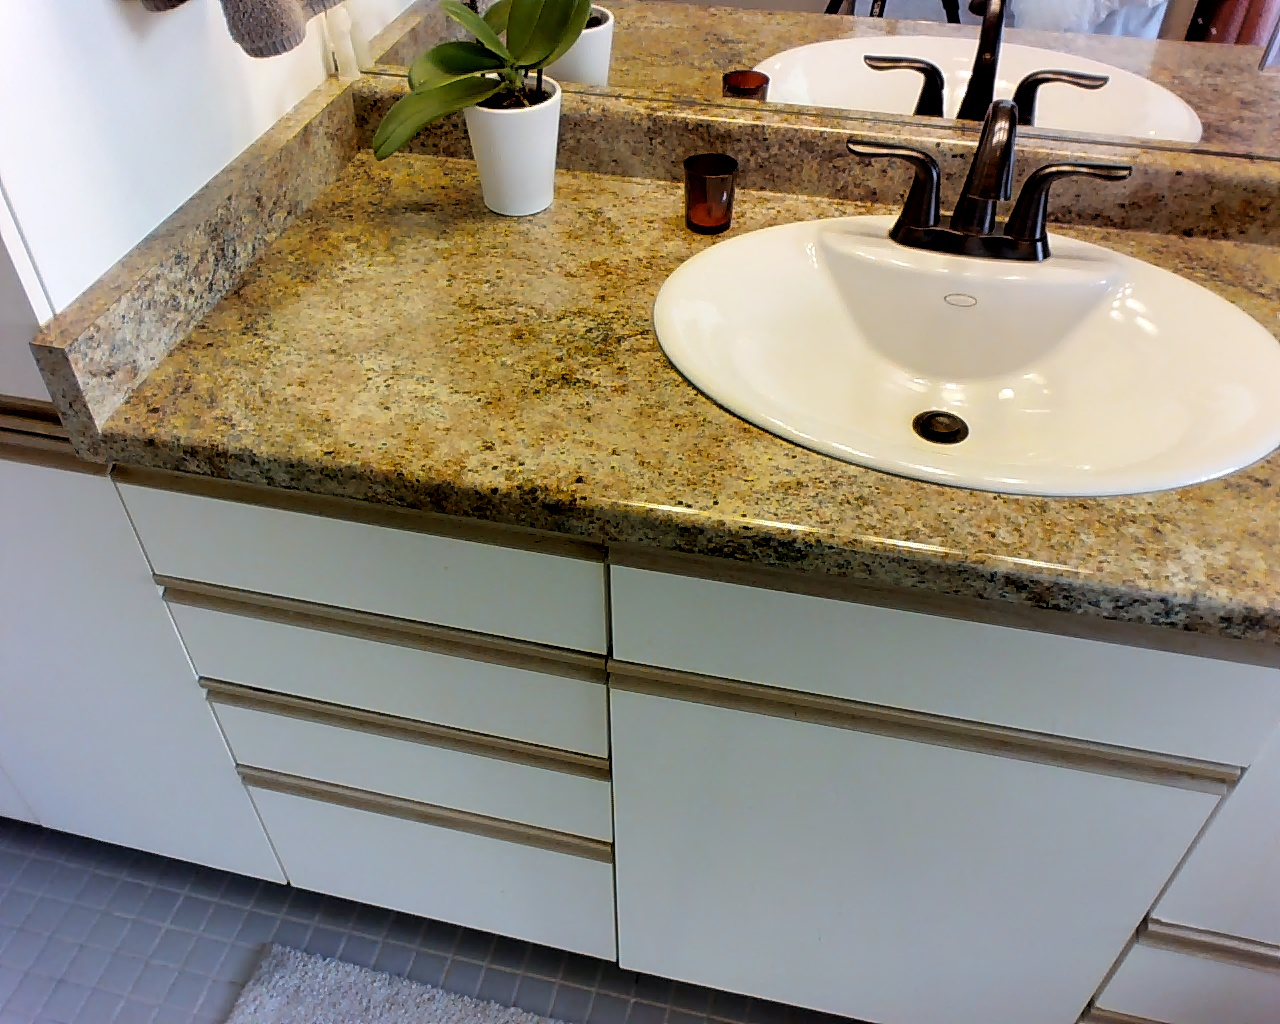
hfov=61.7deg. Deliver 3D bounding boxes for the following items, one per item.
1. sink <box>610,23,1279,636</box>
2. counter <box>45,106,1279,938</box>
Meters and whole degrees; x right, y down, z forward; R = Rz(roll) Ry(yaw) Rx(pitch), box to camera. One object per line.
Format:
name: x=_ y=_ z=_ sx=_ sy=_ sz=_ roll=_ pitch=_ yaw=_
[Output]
sink: x=0.310 y=-0.200 z=0.980 sx=0.570 sy=0.280 sz=0.480 roll=8 pitch=44 yaw=9
counter: x=0.260 y=-0.030 z=1.120 sx=1.380 sy=0.440 sz=0.610 roll=8 pitch=44 yaw=9
